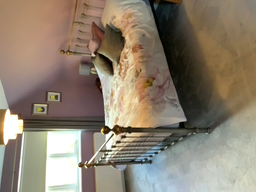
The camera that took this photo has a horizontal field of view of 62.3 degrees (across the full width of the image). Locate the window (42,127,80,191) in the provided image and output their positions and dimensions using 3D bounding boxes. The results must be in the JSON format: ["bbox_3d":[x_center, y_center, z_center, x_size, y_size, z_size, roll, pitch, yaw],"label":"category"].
[{"bbox_3d":[-1.380,1.440,4.400,0.120,0.710,1.620,129,139,-57],"label":"window"}]
